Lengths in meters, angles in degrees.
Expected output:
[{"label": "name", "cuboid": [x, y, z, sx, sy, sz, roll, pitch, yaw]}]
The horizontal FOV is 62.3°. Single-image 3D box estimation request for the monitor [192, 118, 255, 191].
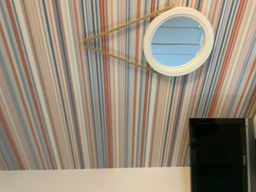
[{"label": "monitor", "cuboid": [0.460, 0.300, 1.000, 0.040, 0.300, 0.380, 139, 131, -86]}]
